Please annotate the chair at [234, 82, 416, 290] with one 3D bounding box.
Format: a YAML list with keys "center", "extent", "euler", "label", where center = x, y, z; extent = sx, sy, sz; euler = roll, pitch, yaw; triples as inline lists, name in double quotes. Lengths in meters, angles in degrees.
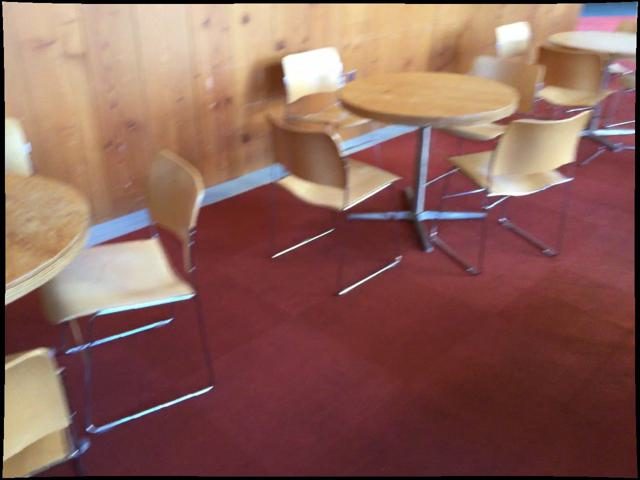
- center: [0.020, -0.280, 2.680]
  extent: [0.510, 0.691, 0.610]
  euler: [27, 39, 36]
  label: "chair"

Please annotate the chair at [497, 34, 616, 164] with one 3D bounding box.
- center: [1.608, -0.981, 3.980]
  extent: [0.500, 0.711, 0.400]
  euler: [27, 39, 36]
  label: "chair"

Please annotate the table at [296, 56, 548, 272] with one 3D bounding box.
- center: [0.509, -0.480, 3.130]
  extent: [0.950, 0.711, 0.860]
  euler: [27, 39, 37]
  label: "table"

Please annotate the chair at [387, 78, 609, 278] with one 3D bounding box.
- center: [0.799, -0.340, 2.800]
  extent: [0.600, 0.650, 0.730]
  euler: [-12, 33, -23]
  label: "chair"

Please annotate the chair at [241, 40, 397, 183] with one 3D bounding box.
- center: [-0.020, -0.831, 3.610]
  extent: [0.740, 0.610, 0.580]
  euler: [27, 39, 37]
  label: "chair"

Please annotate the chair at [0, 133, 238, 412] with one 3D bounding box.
- center: [-0.679, 0.070, 1.980]
  extent: [0.600, 0.640, 0.540]
  euler: [-15, 34, -26]
  label: "chair"
